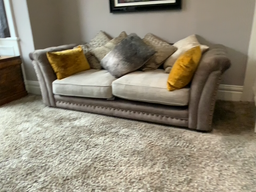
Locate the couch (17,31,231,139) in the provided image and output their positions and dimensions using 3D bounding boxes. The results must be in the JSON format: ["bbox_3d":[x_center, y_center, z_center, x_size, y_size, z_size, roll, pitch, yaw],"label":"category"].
[{"bbox_3d":[-0.020,-0.310,2.550,2.120,0.830,1.060,7,22,21],"label":"couch"}]
